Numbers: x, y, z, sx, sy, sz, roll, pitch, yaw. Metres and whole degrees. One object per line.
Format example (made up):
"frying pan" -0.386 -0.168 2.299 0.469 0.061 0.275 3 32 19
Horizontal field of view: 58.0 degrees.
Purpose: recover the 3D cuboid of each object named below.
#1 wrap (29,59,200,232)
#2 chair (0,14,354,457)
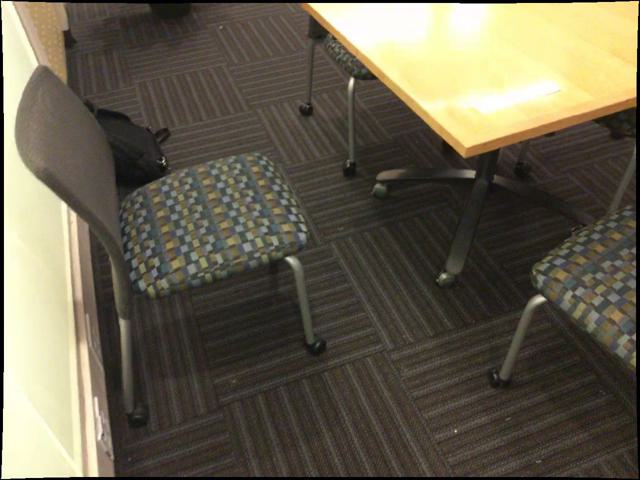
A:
"wrap" -0.788 -0.381 2.260 0.479 0.370 0.460 -18 42 -6
"chair" -0.349 0.000 1.480 0.619 0.811 0.570 -18 42 -6
